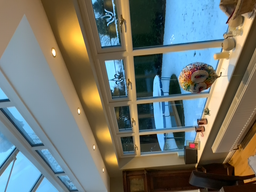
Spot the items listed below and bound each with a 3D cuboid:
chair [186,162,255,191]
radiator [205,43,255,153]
[{"bbox_3d":[1.320,1.240,2.760,0.380,0.950,0.560,85,-179,-48],"label":"chair"},{"bbox_3d":[1.450,0.200,2.660,2.090,0.470,0.140,85,-179,-51],"label":"radiator"}]
